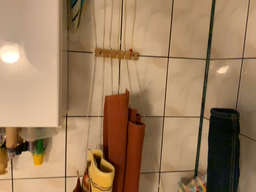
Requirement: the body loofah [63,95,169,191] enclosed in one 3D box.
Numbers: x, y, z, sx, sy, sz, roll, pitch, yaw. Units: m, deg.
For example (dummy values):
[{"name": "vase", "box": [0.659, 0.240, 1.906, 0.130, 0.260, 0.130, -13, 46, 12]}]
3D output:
[{"name": "body loofah", "box": [-0.070, 0.370, 0.730, 0.250, 0.690, 0.350, 3, -171, -8]}]
